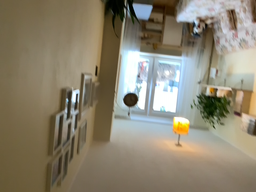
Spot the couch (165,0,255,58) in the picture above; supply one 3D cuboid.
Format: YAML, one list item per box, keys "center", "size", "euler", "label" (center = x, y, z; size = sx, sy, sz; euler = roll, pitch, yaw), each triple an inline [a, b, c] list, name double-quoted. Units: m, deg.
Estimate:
- center: [1.380, -1.230, 3.230]
  size: [1.080, 0.970, 2.090]
  euler: [7, -175, -3]
  label: "couch"

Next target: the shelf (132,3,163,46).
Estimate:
- center: [0.420, -1.520, 4.550]
  size: [0.550, 0.800, 0.170]
  euler: [7, -175, -1]
  label: "shelf"
